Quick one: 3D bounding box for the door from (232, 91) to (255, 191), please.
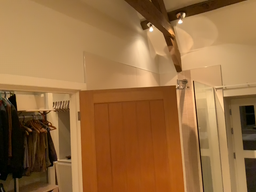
[{"bbox_3d":[2.030,0.870,3.120,0.740,1.890,0.030,-6,-4,32],"label":"door"}]
